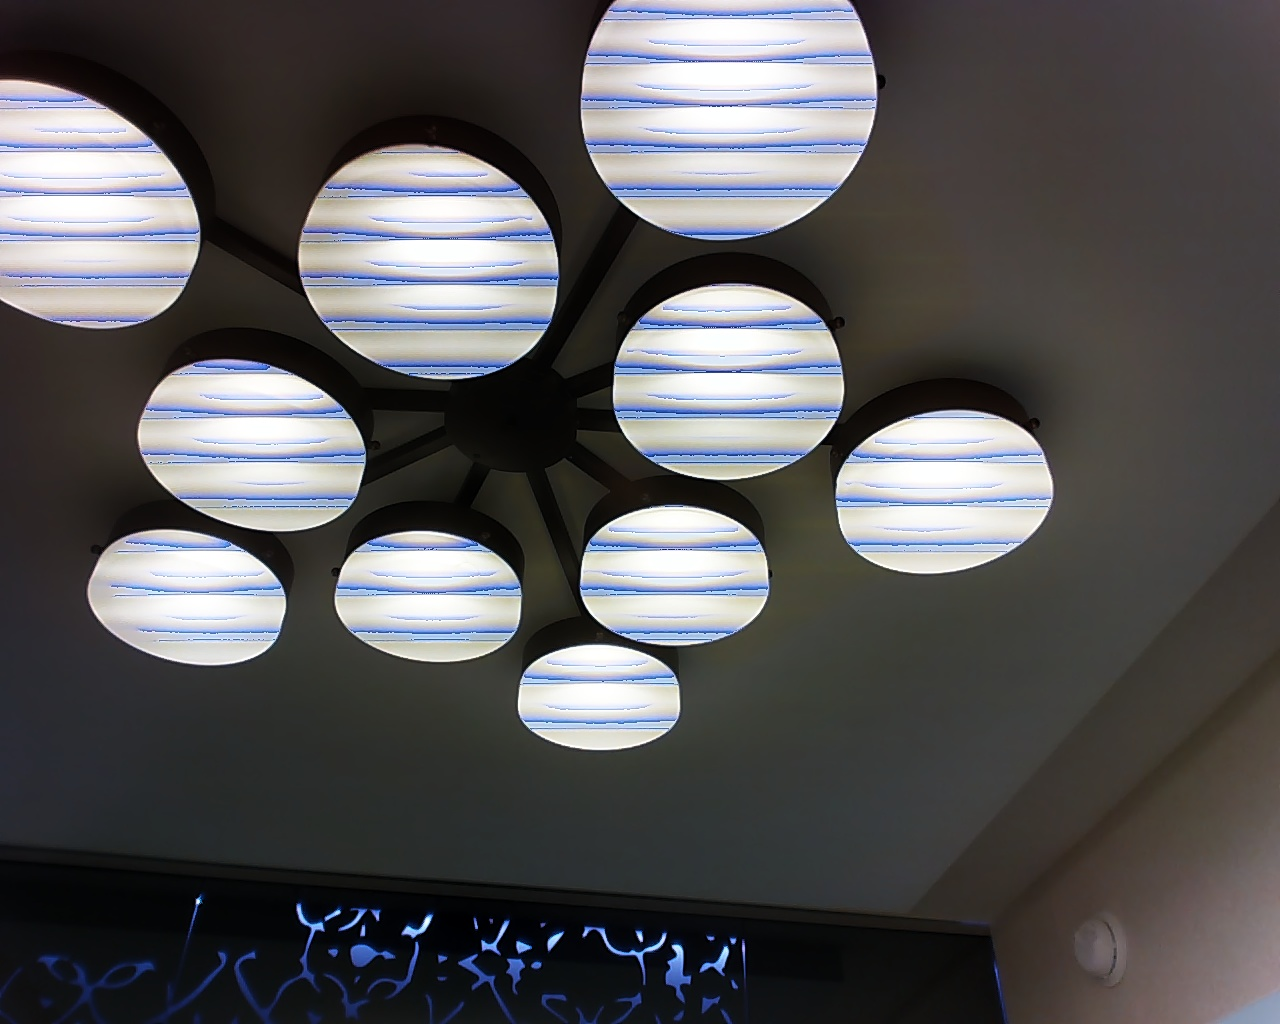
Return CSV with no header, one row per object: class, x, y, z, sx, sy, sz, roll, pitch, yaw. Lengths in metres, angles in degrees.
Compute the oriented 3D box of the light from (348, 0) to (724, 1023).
light,-0.110,-0.080,1.230,0.150,1.140,1.140,6,-41,-5
